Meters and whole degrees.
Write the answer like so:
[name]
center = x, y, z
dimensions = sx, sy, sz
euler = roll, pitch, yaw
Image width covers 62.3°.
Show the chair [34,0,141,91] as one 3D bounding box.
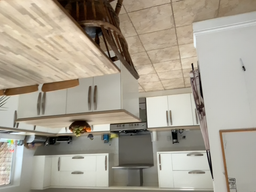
[chair]
center = -0.240, -0.560, 1.510
dimensions = 0.550, 0.910, 0.450
euler = -5, 165, 15
